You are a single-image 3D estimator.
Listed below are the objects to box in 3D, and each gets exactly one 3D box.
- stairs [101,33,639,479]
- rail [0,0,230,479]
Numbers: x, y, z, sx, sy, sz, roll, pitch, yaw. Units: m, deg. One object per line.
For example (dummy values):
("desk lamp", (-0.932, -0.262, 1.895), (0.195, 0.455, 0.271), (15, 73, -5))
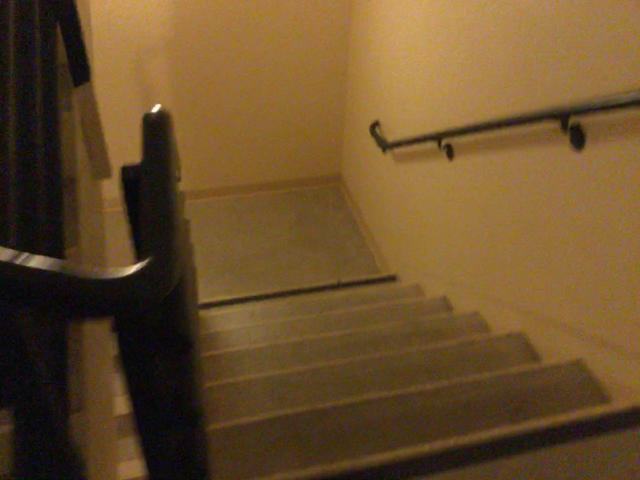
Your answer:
("stairs", (-0.070, 0.230, 2.570), (1.340, 1.340, 2.290), (-6, 43, -11))
("rail", (-0.440, -0.200, 1.330), (0.300, 2.430, 1.930), (-6, 43, -11))
